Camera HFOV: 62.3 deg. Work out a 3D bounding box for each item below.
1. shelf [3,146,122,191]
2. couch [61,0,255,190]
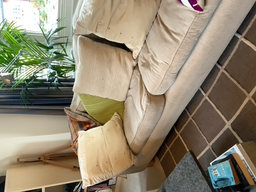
[{"bbox_3d":[-0.870,1.250,2.920,0.480,1.370,0.860,-125,41,-52],"label":"shelf"},{"bbox_3d":[0.000,-0.280,1.620,2.190,0.770,0.960,111,148,-41],"label":"couch"}]
